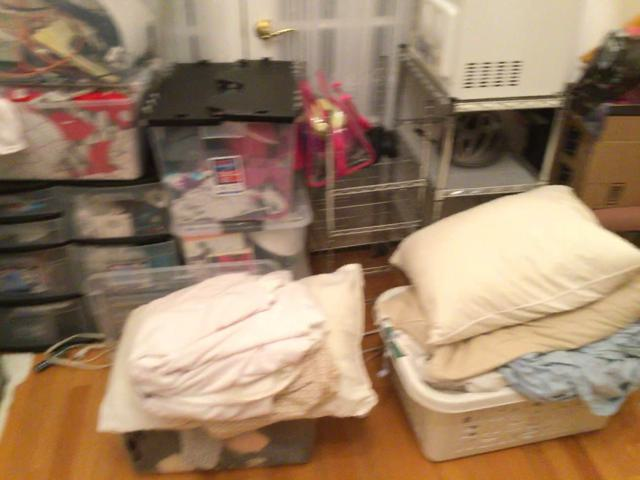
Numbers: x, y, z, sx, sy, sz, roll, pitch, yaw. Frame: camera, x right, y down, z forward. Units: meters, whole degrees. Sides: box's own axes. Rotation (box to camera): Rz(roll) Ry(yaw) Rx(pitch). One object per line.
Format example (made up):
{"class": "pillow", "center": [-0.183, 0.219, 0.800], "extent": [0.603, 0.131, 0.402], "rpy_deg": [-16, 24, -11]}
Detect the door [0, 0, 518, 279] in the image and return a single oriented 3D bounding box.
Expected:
{"class": "door", "center": [-0.210, -0.500, 1.930], "extent": [1.750, 1.220, 0.080], "rpy_deg": [-5, 28, -9]}
